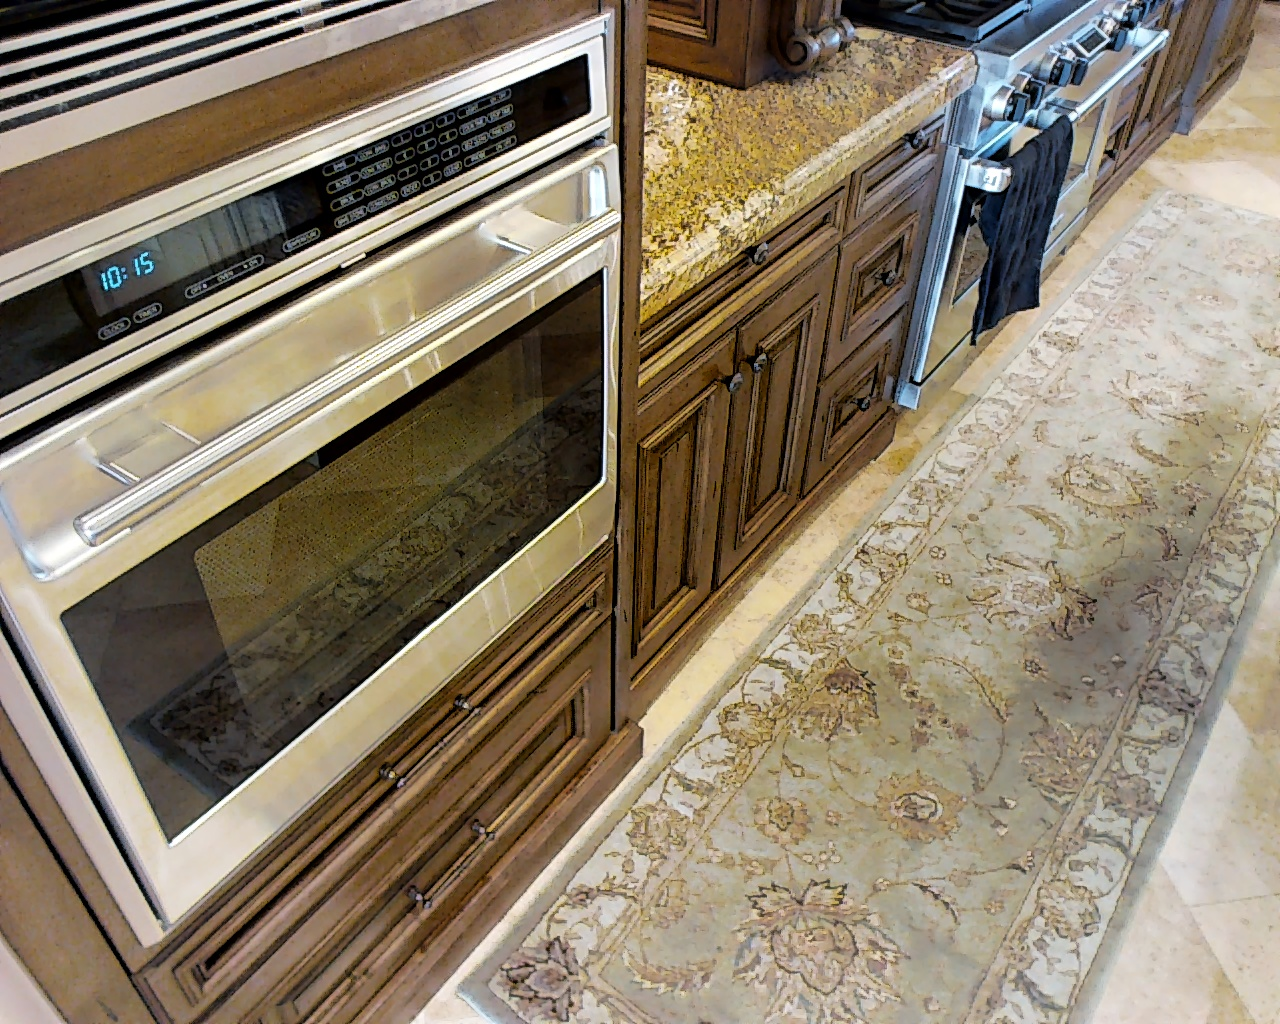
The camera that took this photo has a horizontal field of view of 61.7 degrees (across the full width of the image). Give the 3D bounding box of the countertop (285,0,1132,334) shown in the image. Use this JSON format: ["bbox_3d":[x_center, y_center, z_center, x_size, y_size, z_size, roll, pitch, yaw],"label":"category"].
[{"bbox_3d":[0.830,-1.320,2.590,0.690,0.060,3.640,27,47,26],"label":"countertop"}]
